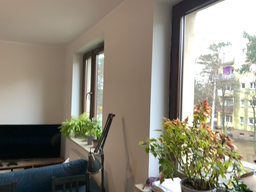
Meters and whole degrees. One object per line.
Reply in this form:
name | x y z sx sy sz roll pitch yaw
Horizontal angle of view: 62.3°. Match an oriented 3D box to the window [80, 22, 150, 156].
window | -0.300 -0.100 3.380 0.370 1.650 1.580 2 0 -30
